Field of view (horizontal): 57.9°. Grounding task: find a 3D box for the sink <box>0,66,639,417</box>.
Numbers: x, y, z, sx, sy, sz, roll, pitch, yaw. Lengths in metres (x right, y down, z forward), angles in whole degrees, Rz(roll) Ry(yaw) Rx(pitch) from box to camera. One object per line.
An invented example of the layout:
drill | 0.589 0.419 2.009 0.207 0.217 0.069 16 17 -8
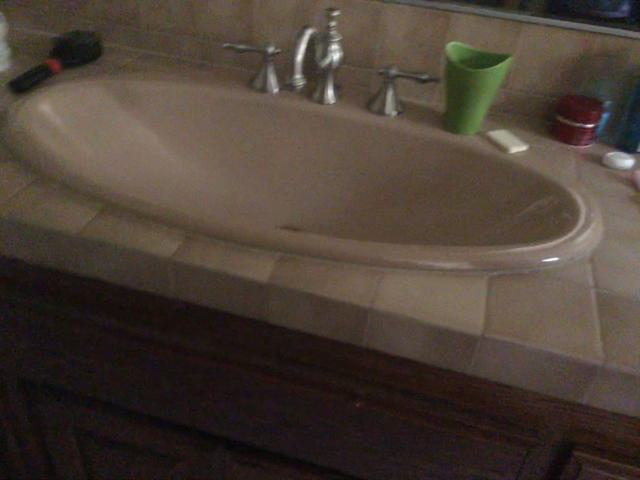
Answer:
sink | -0.020 -0.050 0.820 0.890 0.180 0.340 11 33 10
